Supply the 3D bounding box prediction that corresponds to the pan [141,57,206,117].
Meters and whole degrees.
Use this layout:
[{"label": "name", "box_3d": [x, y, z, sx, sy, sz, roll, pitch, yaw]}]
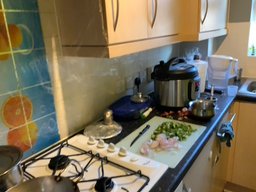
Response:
[{"label": "pan", "box_3d": [0.300, -0.080, 1.370, 0.290, 0.280, 0.330, 9, 22, 33]}]
